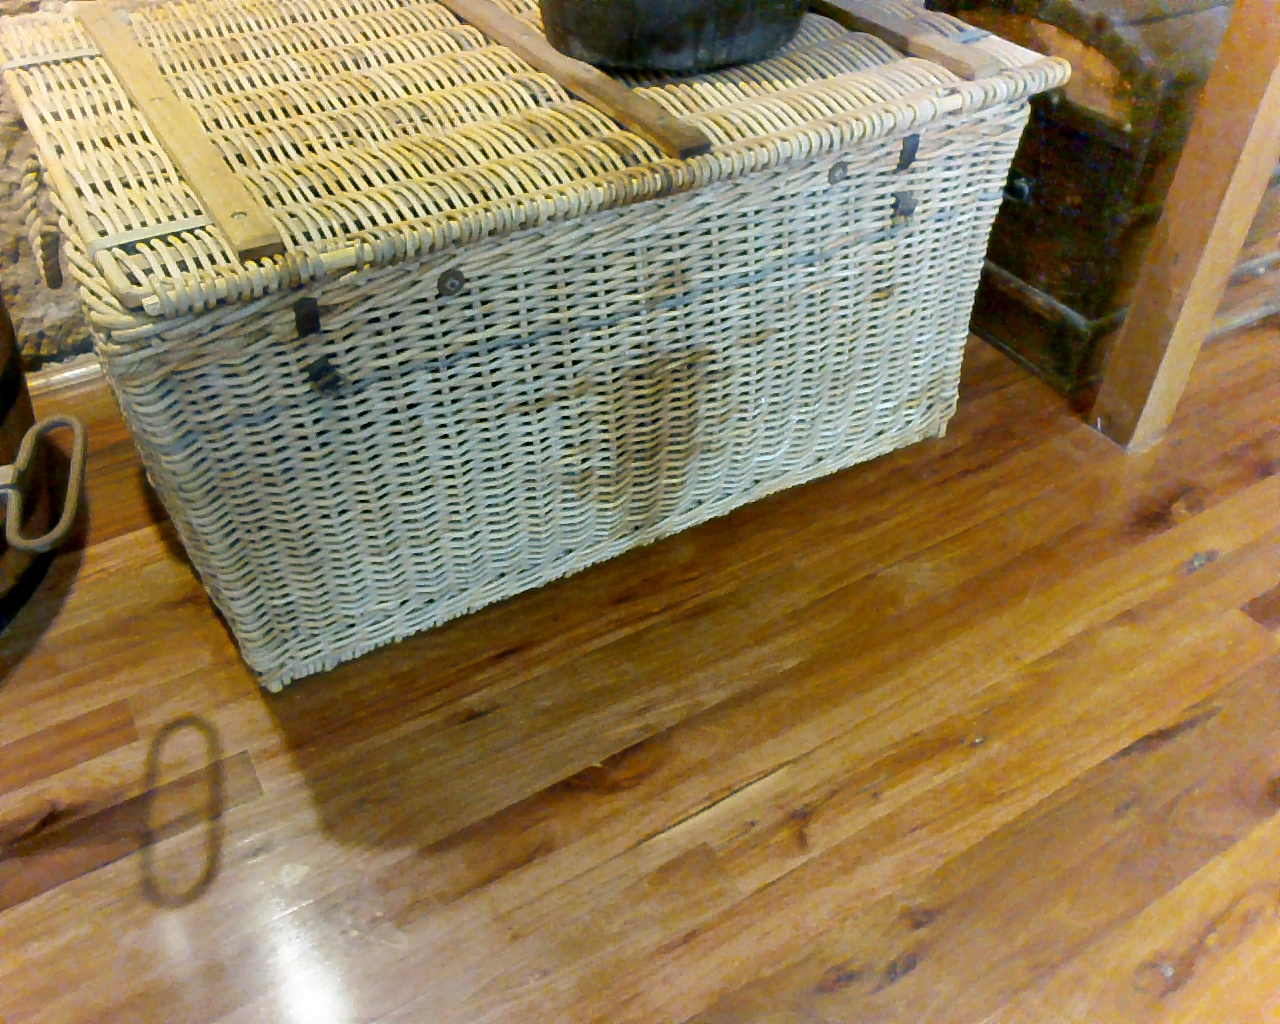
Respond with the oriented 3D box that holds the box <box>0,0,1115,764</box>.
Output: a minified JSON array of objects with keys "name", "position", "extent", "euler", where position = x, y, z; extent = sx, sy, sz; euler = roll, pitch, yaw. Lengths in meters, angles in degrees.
[{"name":"box","position":[-0.190,-0.430,1.740],"extent":[1.310,0.680,1.010],"euler":[-20,45,-22]}]
